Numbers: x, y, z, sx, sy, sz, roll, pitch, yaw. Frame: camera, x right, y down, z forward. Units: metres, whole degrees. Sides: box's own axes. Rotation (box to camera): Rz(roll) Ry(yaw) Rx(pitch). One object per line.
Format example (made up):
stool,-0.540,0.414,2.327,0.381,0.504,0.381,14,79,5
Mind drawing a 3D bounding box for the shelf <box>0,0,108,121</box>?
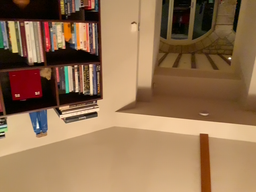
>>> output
shelf,-0.840,-0.790,1.610,1.330,1.870,0.380,-11,-158,-31
